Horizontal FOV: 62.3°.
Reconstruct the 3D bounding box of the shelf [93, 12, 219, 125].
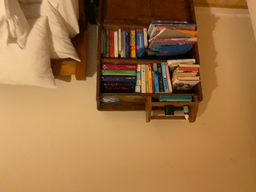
[{"bbox_3d":[0.130,-0.150,1.380,0.680,0.610,0.370,0,163,-6],"label":"shelf"}]
